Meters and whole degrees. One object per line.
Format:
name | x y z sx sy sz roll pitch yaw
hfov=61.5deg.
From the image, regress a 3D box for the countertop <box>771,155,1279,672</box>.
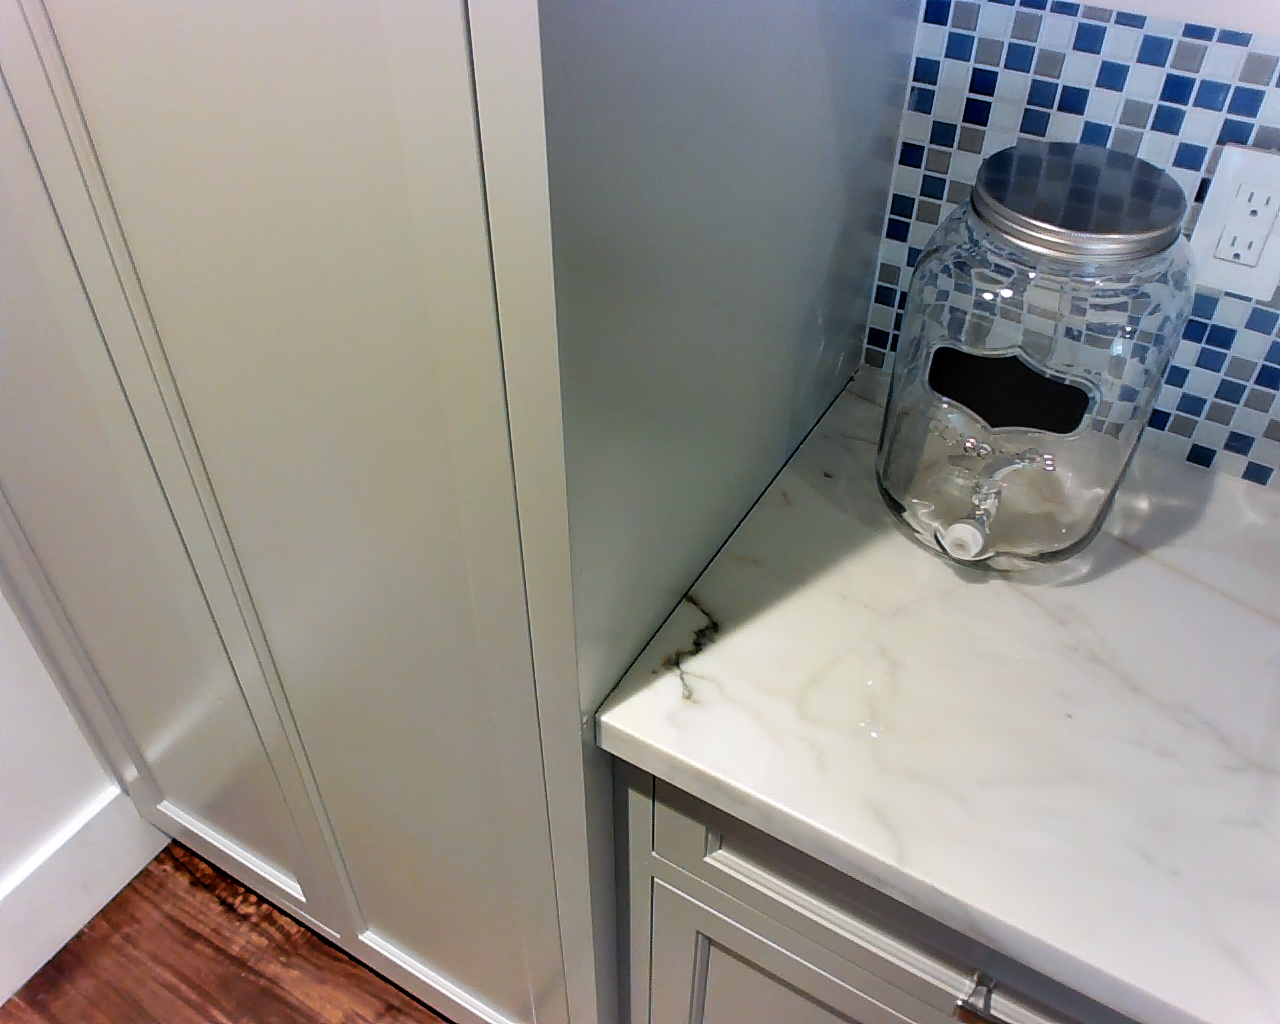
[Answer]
countertop | 0.320 -0.100 0.910 0.300 0.240 0.290 22 47 23
